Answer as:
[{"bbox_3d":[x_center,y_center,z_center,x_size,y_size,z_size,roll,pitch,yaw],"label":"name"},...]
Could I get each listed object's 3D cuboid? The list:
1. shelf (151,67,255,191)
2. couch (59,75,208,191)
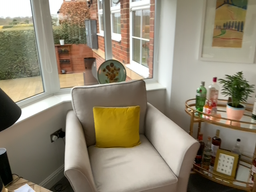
[{"bbox_3d":[0.790,0.290,1.980,1.000,0.950,0.500,11,22,28],"label":"shelf"},{"bbox_3d":[-0.070,0.410,1.830,0.890,0.910,1.040,-6,20,-15],"label":"couch"}]
